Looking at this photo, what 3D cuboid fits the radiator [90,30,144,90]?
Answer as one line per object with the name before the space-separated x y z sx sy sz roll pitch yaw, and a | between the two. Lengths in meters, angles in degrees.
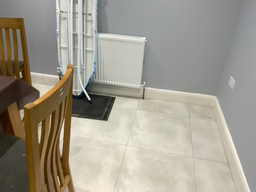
radiator | -0.140 -0.400 2.450 0.580 0.630 0.070 9 32 7
